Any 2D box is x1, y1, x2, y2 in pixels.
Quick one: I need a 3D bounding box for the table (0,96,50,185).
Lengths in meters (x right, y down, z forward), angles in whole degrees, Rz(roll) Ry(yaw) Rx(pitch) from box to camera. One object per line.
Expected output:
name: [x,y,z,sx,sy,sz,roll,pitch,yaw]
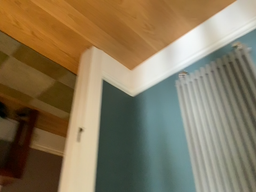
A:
table: [-1.640,0.360,2.170,0.430,0.770,1.440,-28,137,34]
